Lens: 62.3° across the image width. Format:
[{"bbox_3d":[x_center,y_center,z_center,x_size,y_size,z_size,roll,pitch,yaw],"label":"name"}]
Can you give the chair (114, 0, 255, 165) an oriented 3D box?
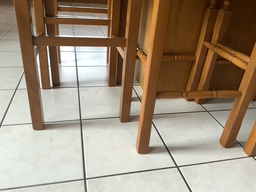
[{"bbox_3d":[0.220,-0.260,0.700,0.420,0.880,0.400,-2,30,-14],"label":"chair"}]
